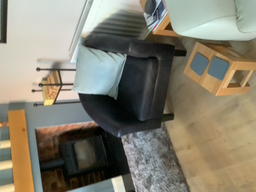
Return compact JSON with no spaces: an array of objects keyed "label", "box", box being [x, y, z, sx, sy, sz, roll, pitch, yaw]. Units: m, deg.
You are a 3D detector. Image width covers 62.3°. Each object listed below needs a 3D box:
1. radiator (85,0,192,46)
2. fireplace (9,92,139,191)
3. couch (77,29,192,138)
[{"label":"radiator","box":[0.130,-0.720,1.570,0.780,0.670,0.160,-50,52,48]},{"label":"fireplace","box":[-0.730,0.780,2.630,0.800,1.190,1.390,-46,55,50]},{"label":"couch","box":[0.010,-0.160,1.820,0.630,0.680,0.720,28,117,54]}]
